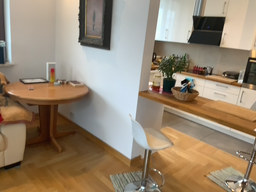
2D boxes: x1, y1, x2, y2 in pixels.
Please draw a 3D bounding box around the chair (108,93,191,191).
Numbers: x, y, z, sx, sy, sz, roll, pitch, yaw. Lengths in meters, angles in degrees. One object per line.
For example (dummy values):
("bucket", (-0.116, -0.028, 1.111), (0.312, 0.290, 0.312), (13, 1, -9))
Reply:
("chair", (0.180, 0.500, 1.970), (0.450, 0.930, 0.470), (21, 21, 41))
